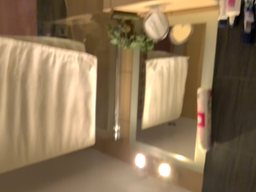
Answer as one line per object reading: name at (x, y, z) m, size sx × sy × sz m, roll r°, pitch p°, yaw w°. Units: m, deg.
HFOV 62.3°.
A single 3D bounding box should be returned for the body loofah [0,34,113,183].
body loofah at (-0.380, 0.030, 1.050) m, size 0.640 × 0.590 × 0.160 m, roll -6°, pitch -168°, yaw -44°
